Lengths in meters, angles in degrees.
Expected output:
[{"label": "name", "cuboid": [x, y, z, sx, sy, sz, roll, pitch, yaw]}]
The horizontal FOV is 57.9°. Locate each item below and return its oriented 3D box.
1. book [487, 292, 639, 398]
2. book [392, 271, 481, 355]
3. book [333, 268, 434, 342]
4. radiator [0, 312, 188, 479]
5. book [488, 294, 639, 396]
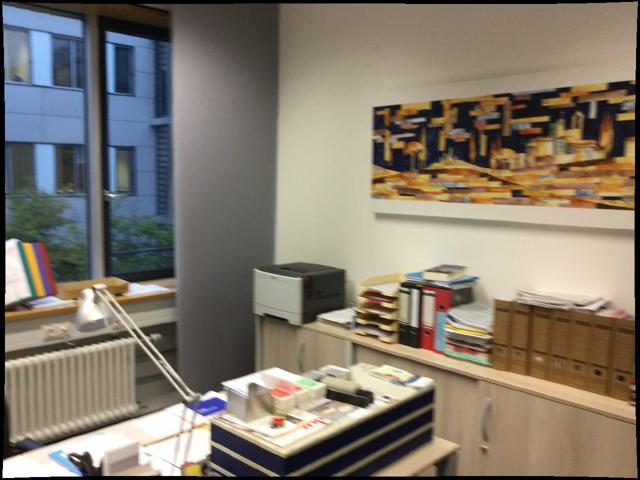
[{"label": "book", "cuboid": [0.989, 0.410, 2.360, 0.590, 0.290, 0.100, 8, 10, 40]}, {"label": "book", "cuboid": [0.579, 0.350, 2.880, 0.320, 0.310, 0.290, -7, 11, -44]}, {"label": "book", "cuboid": [0.340, 0.330, 3.100, 0.390, 0.270, 0.370, -7, 11, -44]}, {"label": "radiator", "cuboid": [-1.888, 0.911, 2.790, 2.649, 0.621, 0.350, -7, 11, -44]}, {"label": "book", "cuboid": [0.999, 0.410, 2.360, 0.590, 0.280, 0.100, 7, 10, 37]}]
